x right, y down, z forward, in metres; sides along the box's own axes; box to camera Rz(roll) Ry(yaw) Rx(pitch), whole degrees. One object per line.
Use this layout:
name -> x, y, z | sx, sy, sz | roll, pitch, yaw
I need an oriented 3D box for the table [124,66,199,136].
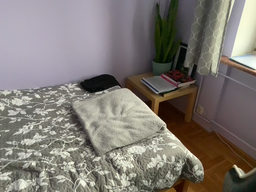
table -> 0.350, 0.020, 2.430 | 0.570, 0.460, 0.580 | -14, 34, -27
